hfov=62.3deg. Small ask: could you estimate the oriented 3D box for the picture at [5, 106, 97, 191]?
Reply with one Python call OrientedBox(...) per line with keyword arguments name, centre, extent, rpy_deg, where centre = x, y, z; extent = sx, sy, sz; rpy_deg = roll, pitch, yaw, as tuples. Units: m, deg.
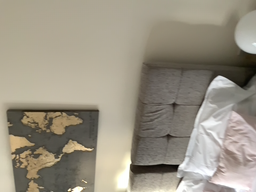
OrientedBox(name="picture", centre=(-0.550, 0.500, 1.580), extent=(0.010, 0.580, 0.920), rpy_deg=(-116, 31, -65))
